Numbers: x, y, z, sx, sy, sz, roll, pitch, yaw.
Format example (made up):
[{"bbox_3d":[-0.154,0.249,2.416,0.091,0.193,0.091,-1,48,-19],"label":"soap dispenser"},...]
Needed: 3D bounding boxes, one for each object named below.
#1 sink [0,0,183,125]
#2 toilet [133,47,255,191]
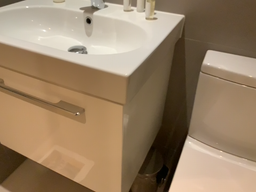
[{"bbox_3d":[-0.210,-0.210,0.720,0.660,0.130,0.470,19,40,19],"label":"sink"},{"bbox_3d":[0.300,0.340,0.720,0.400,0.760,0.590,19,40,19],"label":"toilet"}]
